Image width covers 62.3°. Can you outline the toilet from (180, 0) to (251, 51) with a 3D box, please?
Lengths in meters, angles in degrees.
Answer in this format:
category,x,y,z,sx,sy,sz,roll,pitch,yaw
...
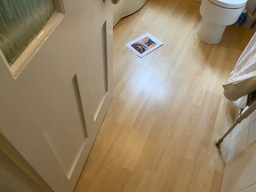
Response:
category,x,y,z,sx,sy,sz,roll,pitch,yaw
toilet,0.870,-0.970,1.880,0.400,0.770,0.710,24,55,11

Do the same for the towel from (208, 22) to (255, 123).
category,x,y,z,sx,sy,sz,roll,pitch,yaw
towel,0.660,-0.120,1.190,0.190,0.420,0.330,24,56,11
